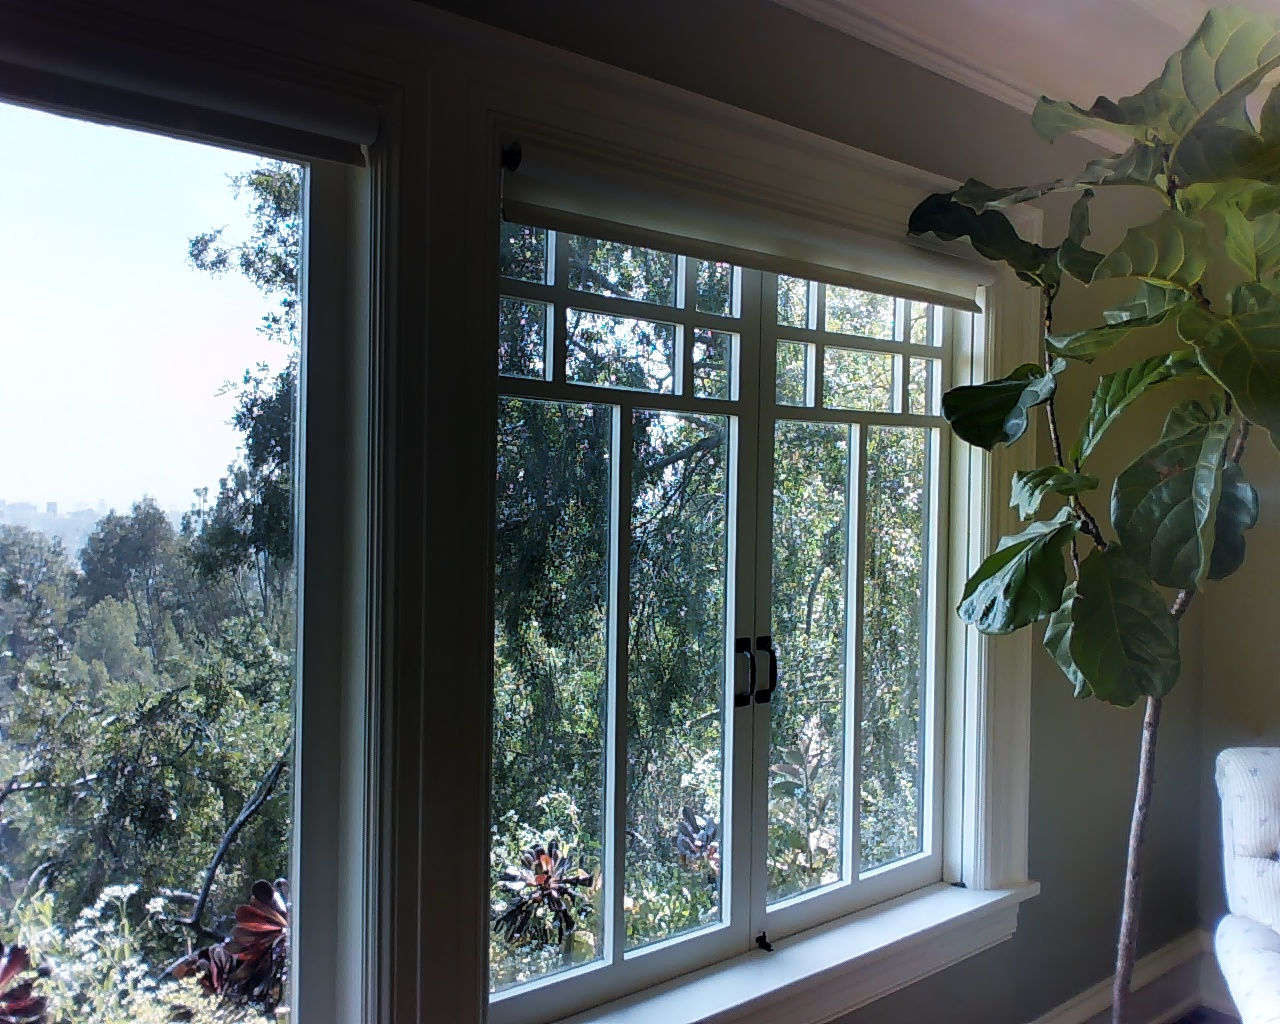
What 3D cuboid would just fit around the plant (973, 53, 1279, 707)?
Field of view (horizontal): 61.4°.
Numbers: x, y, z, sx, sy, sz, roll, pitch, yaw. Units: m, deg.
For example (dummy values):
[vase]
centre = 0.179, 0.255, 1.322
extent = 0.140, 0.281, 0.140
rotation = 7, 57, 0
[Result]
[plant]
centre = 1.030, -0.230, 2.220
extent = 0.530, 1.110, 0.750
rotation = 1, 1, 8
